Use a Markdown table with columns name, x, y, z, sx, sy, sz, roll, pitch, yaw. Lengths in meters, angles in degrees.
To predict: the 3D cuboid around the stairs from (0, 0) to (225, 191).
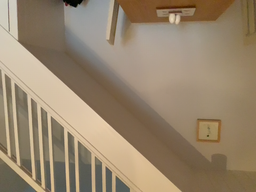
| name | x | y | z | sx | sy | sz | roll | pitch | yaw |
| --- | --- | --- | --- | --- | --- | --- | --- | --- | --- |
| stairs | -0.700 | -0.320 | 2.050 | 2.780 | 2.440 | 0.940 | 2 | -173 | 6 |
